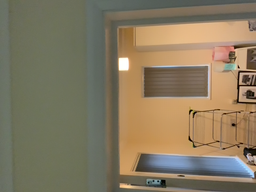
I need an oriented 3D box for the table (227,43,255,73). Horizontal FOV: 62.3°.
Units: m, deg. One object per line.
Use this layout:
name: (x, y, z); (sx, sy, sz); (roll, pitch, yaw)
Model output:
table: (2.120, -0.660, 3.770); (0.400, 0.540, 0.480); (-14, -76, -80)
